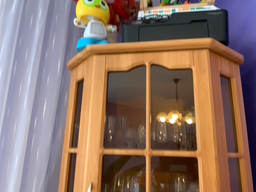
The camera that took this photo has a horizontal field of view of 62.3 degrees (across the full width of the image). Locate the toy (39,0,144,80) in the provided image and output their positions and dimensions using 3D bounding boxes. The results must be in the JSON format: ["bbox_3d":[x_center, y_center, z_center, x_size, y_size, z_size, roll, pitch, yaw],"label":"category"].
[{"bbox_3d":[-0.140,-0.450,1.130,0.380,0.610,0.400,-2,-16,14],"label":"toy"}]

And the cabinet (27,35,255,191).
[{"bbox_3d":[0.100,0.380,0.890,0.840,1.110,0.460,0,-16,9],"label":"cabinet"}]
